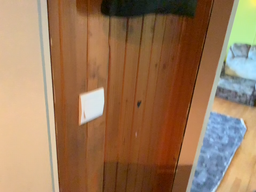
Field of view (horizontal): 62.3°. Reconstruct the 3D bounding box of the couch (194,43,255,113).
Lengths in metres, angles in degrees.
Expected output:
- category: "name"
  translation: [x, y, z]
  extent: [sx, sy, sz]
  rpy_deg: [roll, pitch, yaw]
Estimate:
- category: "couch"
  translation: [2.170, -0.440, 4.430]
  extent: [1.090, 1.050, 0.930]
  rpy_deg: [19, 26, 29]
